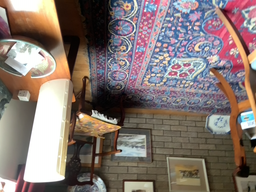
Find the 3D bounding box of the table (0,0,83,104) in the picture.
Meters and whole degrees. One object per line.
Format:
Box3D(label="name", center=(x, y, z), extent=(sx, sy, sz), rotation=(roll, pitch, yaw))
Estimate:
Box3D(label="table", center=(-0.560, -0.440, 1.070), extent=(0.490, 0.460, 1.260), rotation=(2, 153, -4))
